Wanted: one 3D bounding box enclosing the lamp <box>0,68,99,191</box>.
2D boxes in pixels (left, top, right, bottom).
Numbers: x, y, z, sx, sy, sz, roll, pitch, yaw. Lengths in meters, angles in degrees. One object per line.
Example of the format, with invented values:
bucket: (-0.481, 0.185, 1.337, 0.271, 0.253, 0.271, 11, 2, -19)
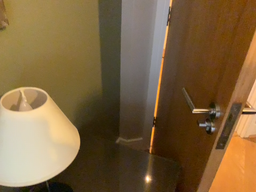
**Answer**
lamp: (-0.270, 0.200, 0.620, 0.260, 0.450, 0.250, 16, 36, 18)
